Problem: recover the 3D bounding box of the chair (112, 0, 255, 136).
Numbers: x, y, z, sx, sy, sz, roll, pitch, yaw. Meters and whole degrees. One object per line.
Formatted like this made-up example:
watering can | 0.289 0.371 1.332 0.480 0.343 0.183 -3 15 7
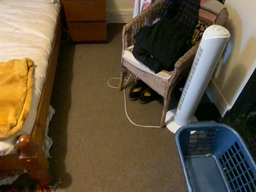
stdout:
chair | 0.350 -0.310 1.640 0.680 0.780 0.660 -30 55 -29
